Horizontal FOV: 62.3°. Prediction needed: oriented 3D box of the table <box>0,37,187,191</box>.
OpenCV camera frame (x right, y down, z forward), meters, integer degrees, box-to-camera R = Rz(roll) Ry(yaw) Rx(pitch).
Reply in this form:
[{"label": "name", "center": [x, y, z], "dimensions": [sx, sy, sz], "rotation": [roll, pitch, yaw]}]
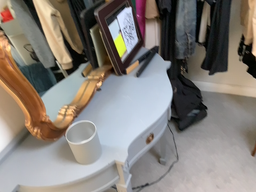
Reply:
[{"label": "table", "center": [-0.010, 0.260, 1.080], "dimensions": [0.420, 0.750, 0.940], "rotation": [9, 41, 19]}]
